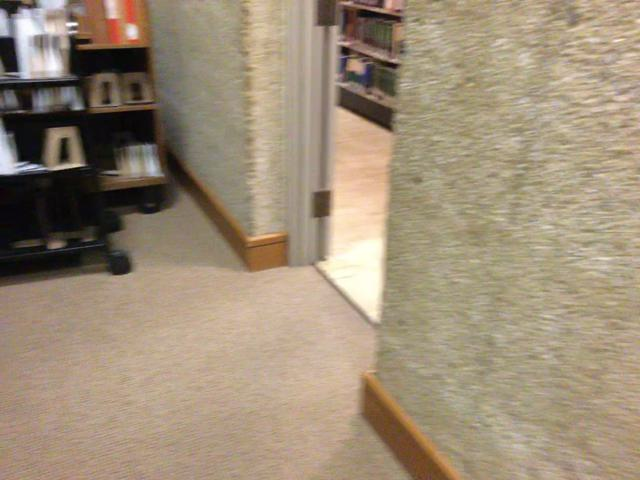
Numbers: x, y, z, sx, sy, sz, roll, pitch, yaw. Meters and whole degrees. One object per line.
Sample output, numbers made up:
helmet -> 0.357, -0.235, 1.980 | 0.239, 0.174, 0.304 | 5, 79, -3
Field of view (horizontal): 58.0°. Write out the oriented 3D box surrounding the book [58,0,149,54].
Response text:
book -> -0.960, -0.970, 2.570 | 0.340, 0.230, 0.110 | -14, 33, -26

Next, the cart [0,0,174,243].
cart -> -1.270, -0.670, 2.830 | 0.870, 1.110, 0.520 | -14, 33, -26

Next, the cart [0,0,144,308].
cart -> -1.360, -0.360, 2.330 | 1.000, 1.080, 0.660 | -14, 33, -26
